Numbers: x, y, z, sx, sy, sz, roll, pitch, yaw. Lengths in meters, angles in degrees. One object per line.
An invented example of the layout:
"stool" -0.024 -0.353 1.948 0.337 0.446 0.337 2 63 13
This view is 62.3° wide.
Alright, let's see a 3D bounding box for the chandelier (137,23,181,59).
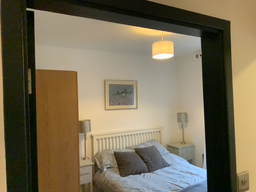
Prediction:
"chandelier" 0.370 -0.670 2.650 0.420 0.330 0.450 -2 179 -8
